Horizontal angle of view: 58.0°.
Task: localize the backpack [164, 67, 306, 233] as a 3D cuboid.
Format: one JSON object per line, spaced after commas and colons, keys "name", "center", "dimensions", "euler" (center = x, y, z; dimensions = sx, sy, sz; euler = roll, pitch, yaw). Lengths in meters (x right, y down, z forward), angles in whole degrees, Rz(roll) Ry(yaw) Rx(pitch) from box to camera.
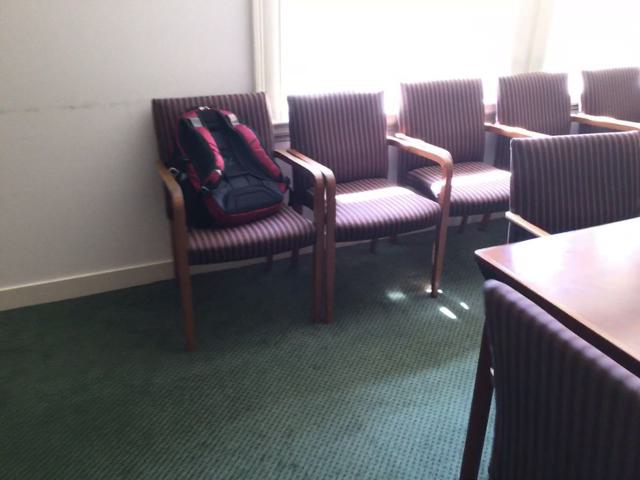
{"name": "backpack", "center": [-0.350, -0.330, 2.230], "dimensions": [0.370, 0.480, 0.340], "euler": [-28, 81, -22]}
